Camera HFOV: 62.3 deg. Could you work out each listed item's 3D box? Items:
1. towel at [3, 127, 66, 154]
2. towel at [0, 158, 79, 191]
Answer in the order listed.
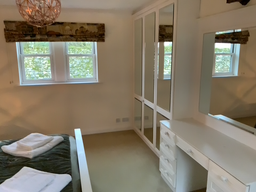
[{"bbox_3d":[-0.950,0.440,2.190,0.450,0.050,0.400,6,14,26],"label":"towel"},{"bbox_3d":[-0.670,0.600,1.500,0.470,0.060,0.420,4,13,20],"label":"towel"}]
